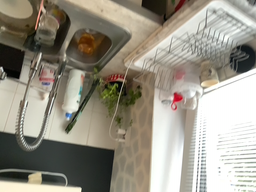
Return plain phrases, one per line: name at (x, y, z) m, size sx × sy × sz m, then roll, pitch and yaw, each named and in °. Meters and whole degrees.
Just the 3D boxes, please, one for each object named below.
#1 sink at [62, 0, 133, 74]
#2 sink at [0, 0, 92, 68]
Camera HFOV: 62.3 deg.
sink at (-0.160, -0.290, 1.030) m, size 0.200 × 0.200 × 0.350 m, roll 17°, pitch 156°, yaw -26°
sink at (-0.440, -0.370, 0.900) m, size 0.430 × 0.200 × 0.500 m, roll 17°, pitch 156°, yaw -26°
